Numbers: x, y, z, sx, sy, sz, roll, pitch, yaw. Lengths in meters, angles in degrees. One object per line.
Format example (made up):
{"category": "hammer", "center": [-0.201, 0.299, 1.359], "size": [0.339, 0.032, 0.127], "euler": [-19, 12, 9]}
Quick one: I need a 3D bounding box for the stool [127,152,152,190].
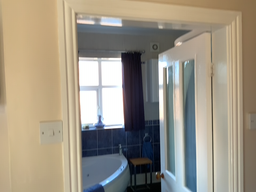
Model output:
{"category": "stool", "center": [0.190, 1.270, 3.630], "size": [0.340, 0.490, 0.330], "euler": [-1, 2, -12]}
